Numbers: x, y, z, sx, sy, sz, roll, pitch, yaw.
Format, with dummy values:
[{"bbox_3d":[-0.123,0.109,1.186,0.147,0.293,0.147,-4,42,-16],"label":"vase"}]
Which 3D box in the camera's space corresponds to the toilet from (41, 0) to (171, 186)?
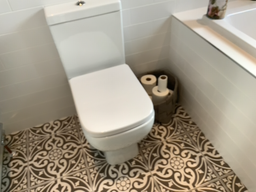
[{"bbox_3d":[-0.120,-0.030,1.150,0.390,0.790,0.600,-17,45,-13],"label":"toilet"}]
